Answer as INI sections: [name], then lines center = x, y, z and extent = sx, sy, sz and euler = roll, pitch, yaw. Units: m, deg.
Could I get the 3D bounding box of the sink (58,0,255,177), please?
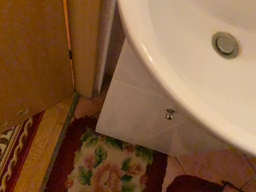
[sink]
center = 0.210, -0.100, 0.360
extent = 0.500, 0.160, 0.420
euler = 17, 67, -6

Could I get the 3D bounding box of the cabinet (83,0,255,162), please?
[cabinet]
center = 0.120, -0.010, 0.750
extent = 0.460, 0.750, 0.320
euler = 17, 67, -6
